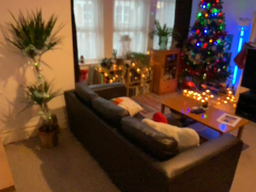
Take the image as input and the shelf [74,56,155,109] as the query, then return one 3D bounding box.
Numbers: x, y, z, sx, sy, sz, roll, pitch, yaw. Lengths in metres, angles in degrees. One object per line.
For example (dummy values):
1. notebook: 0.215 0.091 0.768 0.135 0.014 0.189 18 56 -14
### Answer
1. shelf: -0.220 -0.310 4.100 1.510 0.740 0.410 -12 25 -33
